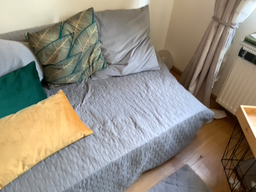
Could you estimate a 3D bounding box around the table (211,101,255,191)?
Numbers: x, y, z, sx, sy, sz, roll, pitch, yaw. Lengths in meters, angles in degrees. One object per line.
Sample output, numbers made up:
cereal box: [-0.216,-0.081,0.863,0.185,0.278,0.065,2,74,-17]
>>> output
table: [0.830,0.370,1.230,0.440,0.460,0.440,6,44,-1]

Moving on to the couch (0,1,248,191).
couch: [-0.520,0.160,1.150,2.140,0.690,0.920,-23,51,-27]
